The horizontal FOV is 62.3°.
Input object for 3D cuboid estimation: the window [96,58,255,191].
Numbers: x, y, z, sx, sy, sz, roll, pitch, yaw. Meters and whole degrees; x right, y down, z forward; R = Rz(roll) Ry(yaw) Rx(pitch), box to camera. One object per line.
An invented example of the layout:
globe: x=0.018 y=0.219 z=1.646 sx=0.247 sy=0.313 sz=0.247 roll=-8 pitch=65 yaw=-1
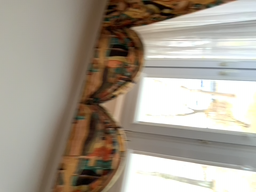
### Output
window: x=0.550 y=0.800 z=1.560 sx=0.190 sy=1.620 sz=2.500 roll=64 pitch=-146 yaw=-59
